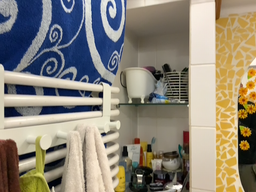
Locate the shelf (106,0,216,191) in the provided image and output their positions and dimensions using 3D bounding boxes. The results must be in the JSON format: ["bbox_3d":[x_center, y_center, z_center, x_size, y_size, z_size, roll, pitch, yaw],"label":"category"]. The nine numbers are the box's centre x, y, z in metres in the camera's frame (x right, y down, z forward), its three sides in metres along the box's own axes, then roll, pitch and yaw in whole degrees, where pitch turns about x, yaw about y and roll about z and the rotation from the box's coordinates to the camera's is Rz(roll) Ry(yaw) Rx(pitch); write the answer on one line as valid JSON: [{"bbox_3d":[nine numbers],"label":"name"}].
[{"bbox_3d":[0.160,0.160,0.890,0.370,1.130,0.370,0,-1,20],"label":"shelf"}]

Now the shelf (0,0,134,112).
[{"bbox_3d":[-0.140,-0.180,0.490,0.160,0.410,0.400,0,-1,25],"label":"shelf"}]
